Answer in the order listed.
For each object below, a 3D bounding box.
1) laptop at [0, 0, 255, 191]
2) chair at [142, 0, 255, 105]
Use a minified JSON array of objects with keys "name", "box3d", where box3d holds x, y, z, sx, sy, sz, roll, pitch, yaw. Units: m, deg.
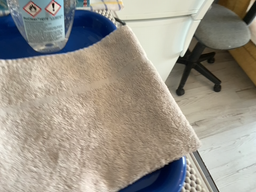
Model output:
[{"name":"laptop","box3d":[-0.100,0.000,0.270,0.340,0.210,0.340,-10,60,-19]},{"name":"chair","box3d":[0.550,-0.490,1.420,0.500,0.890,0.640,-13,61,-21]}]
